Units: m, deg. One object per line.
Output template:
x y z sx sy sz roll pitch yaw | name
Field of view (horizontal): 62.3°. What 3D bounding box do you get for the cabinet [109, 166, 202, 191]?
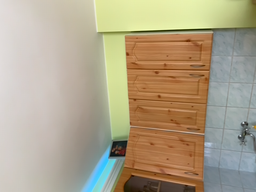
0.230 0.890 1.770 0.390 0.710 0.290 -53 -36 -62 | cabinet
